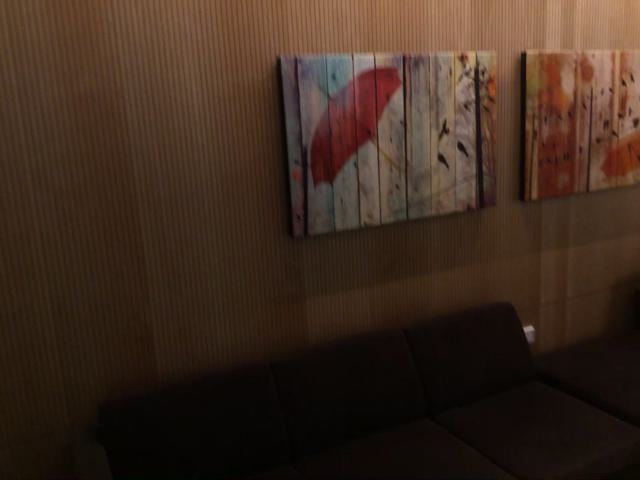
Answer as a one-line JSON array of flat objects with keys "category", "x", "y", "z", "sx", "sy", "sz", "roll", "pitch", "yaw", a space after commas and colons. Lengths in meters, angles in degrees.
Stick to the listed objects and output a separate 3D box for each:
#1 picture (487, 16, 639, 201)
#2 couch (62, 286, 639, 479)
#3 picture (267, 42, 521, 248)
[{"category": "picture", "x": 1.250, "y": -0.590, "z": 2.540, "sx": 1.160, "sy": 0.720, "sz": 0.080, "roll": -7, "pitch": 10, "yaw": -20}, {"category": "couch", "x": 0.230, "y": 0.760, "z": 1.960, "sx": 1.910, "sy": 0.780, "sz": 0.860, "roll": -7, "pitch": 10, "yaw": -20}, {"category": "picture", "x": 0.320, "y": -0.380, "z": 2.190, "sx": 0.990, "sy": 0.690, "sz": 0.110, "roll": -7, "pitch": 10, "yaw": -20}]
